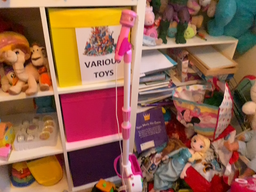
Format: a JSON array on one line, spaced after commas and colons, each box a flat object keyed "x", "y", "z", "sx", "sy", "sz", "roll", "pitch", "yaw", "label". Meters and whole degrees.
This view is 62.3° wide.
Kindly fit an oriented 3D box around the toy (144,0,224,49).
[{"x": 0.320, "y": -0.500, "z": 1.210, "sx": 0.400, "sy": 0.410, "sz": 0.140, "roll": -8, "pitch": 34, "yaw": -17, "label": "toy"}]
